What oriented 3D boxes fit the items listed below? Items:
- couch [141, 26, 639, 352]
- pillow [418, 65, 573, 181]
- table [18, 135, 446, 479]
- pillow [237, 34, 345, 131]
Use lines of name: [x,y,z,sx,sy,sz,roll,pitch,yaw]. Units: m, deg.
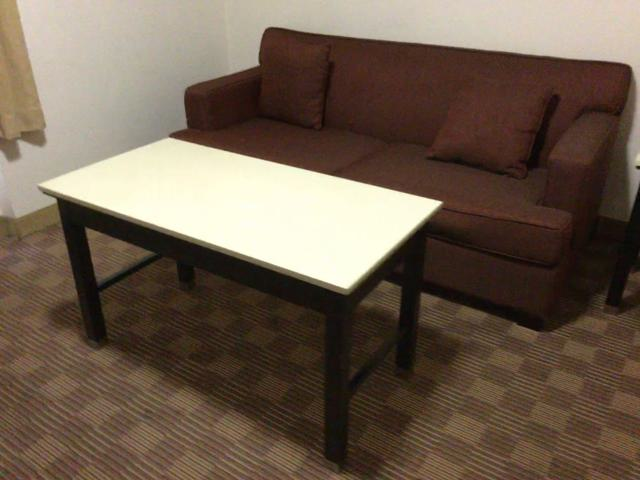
couch: [0.260,-0.390,2.550,1.860,0.840,0.890,16,31,28]
pillow: [0.700,-0.490,2.340,0.480,0.330,0.320,18,32,31]
table: [-0.270,0.130,1.820,1.110,0.620,0.590,16,31,28]
pillow: [-0.140,-0.780,2.820,0.470,0.370,0.230,18,32,31]
